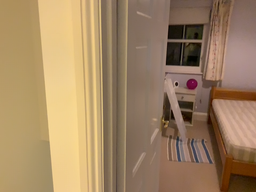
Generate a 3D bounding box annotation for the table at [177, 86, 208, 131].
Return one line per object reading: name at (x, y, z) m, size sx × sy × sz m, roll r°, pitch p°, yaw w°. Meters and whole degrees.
table at (1.180, 0.220, 3.890) m, size 0.450 × 0.680 × 0.420 m, roll 6°, pitch 16°, yaw 17°
